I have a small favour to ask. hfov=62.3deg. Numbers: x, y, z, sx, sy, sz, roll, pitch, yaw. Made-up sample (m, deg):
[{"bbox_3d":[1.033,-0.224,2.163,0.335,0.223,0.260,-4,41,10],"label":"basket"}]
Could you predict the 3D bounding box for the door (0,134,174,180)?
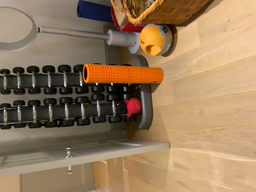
[{"bbox_3d":[-0.690,0.480,1.700,0.850,1.980,0.040,-9,84,62],"label":"door"}]
